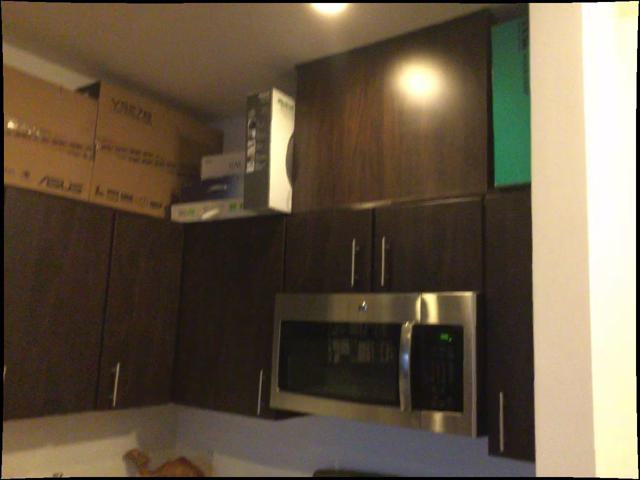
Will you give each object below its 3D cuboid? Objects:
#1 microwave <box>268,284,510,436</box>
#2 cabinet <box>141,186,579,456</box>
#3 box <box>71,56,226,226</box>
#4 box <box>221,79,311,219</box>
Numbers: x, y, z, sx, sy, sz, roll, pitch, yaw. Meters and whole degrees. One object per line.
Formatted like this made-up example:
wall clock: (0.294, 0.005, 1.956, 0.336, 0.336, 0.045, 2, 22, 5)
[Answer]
microwave: (0.219, 0.361, 1.890, 0.689, 0.401, 0.360, -4, -9, 32)
cabinet: (0.090, 0.281, 2.160, 1.517, 0.712, 0.550, -4, -9, 31)
box: (-0.718, -0.391, 2.540, 0.190, 0.561, 0.680, -4, -9, 31)
box: (-0.200, -0.331, 2.190, 0.230, 0.451, 0.240, -4, -9, 31)
